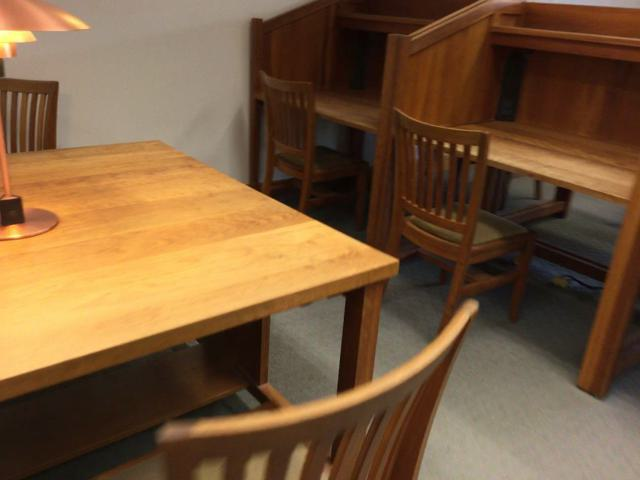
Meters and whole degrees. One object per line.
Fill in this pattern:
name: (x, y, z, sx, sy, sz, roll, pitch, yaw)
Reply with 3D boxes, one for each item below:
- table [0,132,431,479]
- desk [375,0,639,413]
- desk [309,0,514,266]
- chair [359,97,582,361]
table: (-1.250, 0.410, 1.170, 2.680, 0.900, 1.420, -13, 22, -36)
desk: (1.050, -0.350, 2.480, 0.970, 1.450, 1.260, -13, 22, -36)
desk: (0.420, -0.610, 2.970, 0.620, 1.220, 0.760, -13, 22, -36)
chair: (0.620, -0.110, 2.510, 0.650, 0.940, 0.590, -13, 22, -36)
